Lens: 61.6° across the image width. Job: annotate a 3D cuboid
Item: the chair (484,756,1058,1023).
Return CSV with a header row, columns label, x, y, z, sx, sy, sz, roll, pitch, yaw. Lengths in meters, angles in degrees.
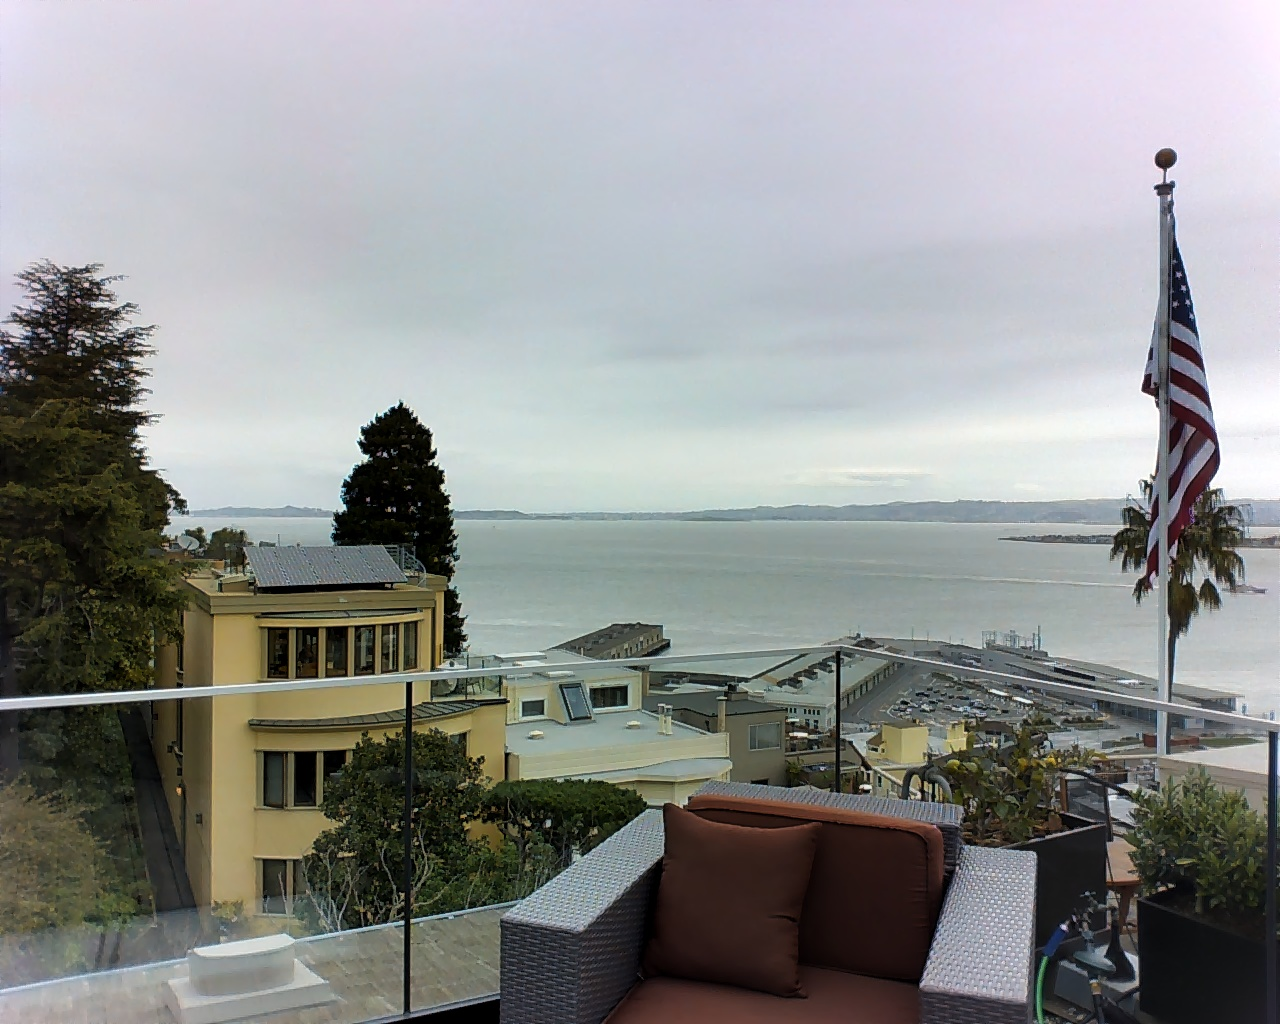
label,x,y,z,sx,sy,sz,roll,pitch,yaw
chair,0.340,1.110,2.470,1.110,0.820,0.870,1,0,19
